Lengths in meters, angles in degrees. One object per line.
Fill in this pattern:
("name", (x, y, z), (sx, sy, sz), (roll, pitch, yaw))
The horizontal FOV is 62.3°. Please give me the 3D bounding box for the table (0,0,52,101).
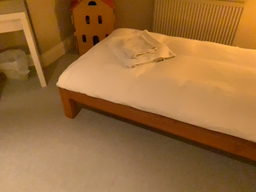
("table", (-1.480, -0.370, 1.980), (1.240, 0.800, 0.490), (-17, 42, -20))
